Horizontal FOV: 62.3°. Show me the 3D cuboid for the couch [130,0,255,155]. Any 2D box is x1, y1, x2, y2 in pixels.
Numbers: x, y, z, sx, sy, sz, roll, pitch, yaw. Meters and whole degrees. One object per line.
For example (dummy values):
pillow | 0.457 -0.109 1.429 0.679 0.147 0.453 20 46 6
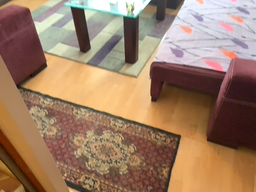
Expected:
couch | 1.200 -0.700 2.020 1.550 0.630 2.530 15 47 15
